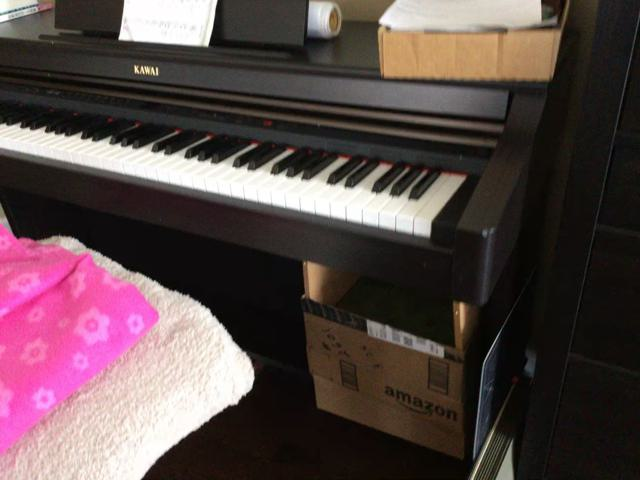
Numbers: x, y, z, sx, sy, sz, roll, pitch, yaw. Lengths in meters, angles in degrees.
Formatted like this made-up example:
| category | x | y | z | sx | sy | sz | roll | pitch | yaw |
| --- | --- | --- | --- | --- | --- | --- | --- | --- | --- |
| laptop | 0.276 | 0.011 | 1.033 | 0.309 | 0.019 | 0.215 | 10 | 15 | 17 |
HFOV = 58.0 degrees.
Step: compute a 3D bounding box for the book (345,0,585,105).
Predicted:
| category | x | y | z | sx | sy | sz | roll | pitch | yaw |
| --- | --- | --- | --- | --- | --- | --- | --- | --- | --- |
| book | 0.230 | -0.350 | 0.840 | 0.260 | 0.160 | 0.350 | 13 | 38 | 24 |
